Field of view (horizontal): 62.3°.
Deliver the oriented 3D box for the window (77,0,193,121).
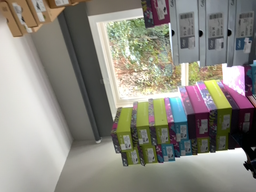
[{"bbox_3d":[0.100,-0.270,1.660,0.300,0.730,0.860,-83,-14,-60],"label":"window"}]
